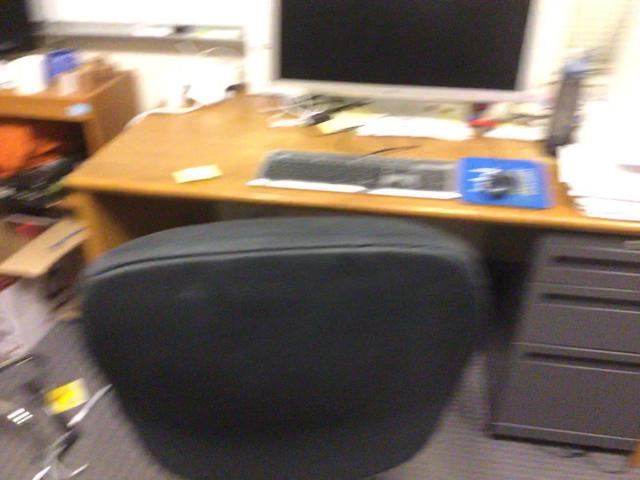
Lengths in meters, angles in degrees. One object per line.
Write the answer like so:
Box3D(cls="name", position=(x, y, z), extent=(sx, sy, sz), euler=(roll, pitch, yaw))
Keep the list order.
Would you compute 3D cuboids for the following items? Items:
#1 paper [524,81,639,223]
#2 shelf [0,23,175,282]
Box3D(cls="paper", position=(0.730, -0.230, 1.360), extent=(0.390, 0.080, 0.640), euler=(5, 33, 8))
Box3D(cls="shelf", position=(-1.050, -0.310, 1.960), extent=(0.910, 0.730, 0.390), euler=(5, 33, 8))
